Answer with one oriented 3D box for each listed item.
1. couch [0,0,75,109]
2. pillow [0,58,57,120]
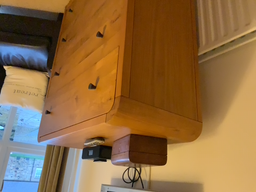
[{"bbox_3d":[-0.900,-0.340,1.850,0.730,0.680,0.640,6,158,-8],"label":"couch"},{"bbox_3d":[-0.920,-0.060,1.870,0.420,0.380,0.140,28,-173,-13],"label":"pillow"}]
